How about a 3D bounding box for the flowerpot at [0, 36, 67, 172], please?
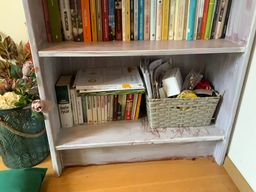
[{"bbox_3d":[-0.500,0.050,1.070,0.250,0.640,0.250,-1,26,-3],"label":"flowerpot"}]
